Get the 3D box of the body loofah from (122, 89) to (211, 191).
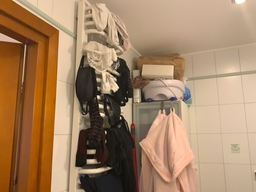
[{"bbox_3d":[0.250,0.680,1.610,0.380,1.340,0.630,4,-11,-24],"label":"body loofah"}]
